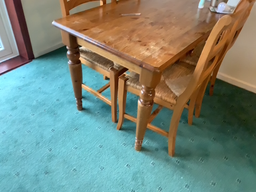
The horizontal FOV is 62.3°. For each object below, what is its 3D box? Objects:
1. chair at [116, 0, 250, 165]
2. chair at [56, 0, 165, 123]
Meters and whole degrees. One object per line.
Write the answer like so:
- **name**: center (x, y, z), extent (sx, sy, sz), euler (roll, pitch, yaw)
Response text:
- **chair**: center (0.270, -0.130, 1.320), extent (0.480, 0.940, 0.470), euler (26, 44, 24)
- **chair**: center (-0.120, -0.380, 1.570), extent (0.480, 0.940, 0.520), euler (28, 45, 25)
